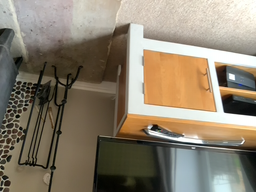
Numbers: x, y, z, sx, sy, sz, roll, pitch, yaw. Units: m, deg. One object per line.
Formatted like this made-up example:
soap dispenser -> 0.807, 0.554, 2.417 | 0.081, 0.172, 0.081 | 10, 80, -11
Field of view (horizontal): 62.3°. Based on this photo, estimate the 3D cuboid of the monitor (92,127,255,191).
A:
monitor -> 0.370, 0.570, 1.140 | 1.120, 0.690, 0.070 | 9, 152, -14

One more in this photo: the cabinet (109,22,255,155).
cabinet -> 0.460, 0.010, 1.430 | 1.070, 0.580, 0.530 | 7, 152, -11
